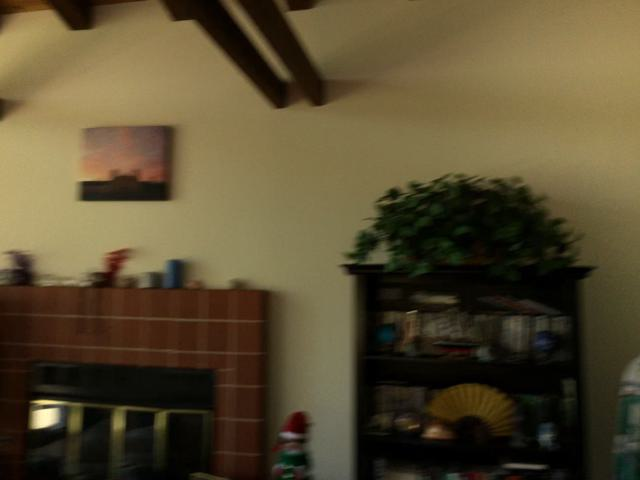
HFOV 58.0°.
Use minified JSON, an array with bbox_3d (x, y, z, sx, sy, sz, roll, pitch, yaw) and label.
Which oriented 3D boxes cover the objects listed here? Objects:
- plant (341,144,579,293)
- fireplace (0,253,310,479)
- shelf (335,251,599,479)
[{"bbox_3d":[0.570,-0.070,2.460,0.870,0.530,0.530,1,-8,11],"label":"plant"},{"bbox_3d":[-1.140,0.940,3.050,1.990,1.640,0.720,1,-8,11],"label":"fireplace"},{"bbox_3d":[0.570,1.000,2.380,0.960,1.840,0.460,1,-8,11],"label":"shelf"}]
